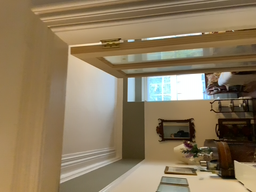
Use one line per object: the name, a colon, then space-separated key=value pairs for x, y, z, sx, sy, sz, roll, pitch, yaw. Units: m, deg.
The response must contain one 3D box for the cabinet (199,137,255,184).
cabinet: x=1.730 y=0.890 z=3.210 sx=1.720 sy=1.040 sz=0.490 roll=40 pitch=-131 yaw=-74
